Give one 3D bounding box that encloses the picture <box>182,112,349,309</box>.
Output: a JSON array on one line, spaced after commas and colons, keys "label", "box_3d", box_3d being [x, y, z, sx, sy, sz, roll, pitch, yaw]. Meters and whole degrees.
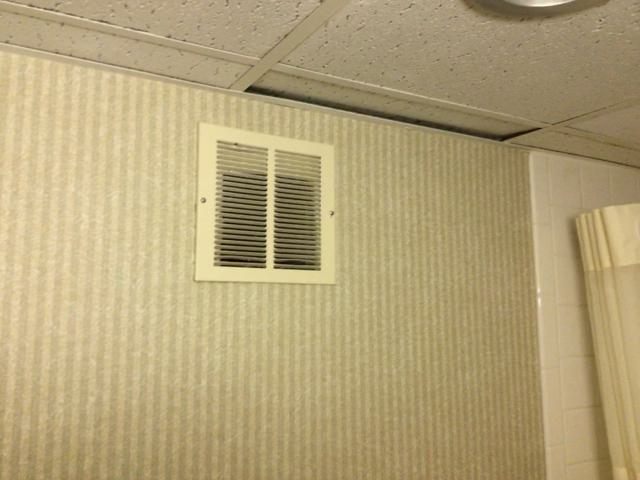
[{"label": "picture", "box_3d": [-0.080, -0.040, 0.910, 0.270, 0.290, 0.020, 2, -8, -29]}]
